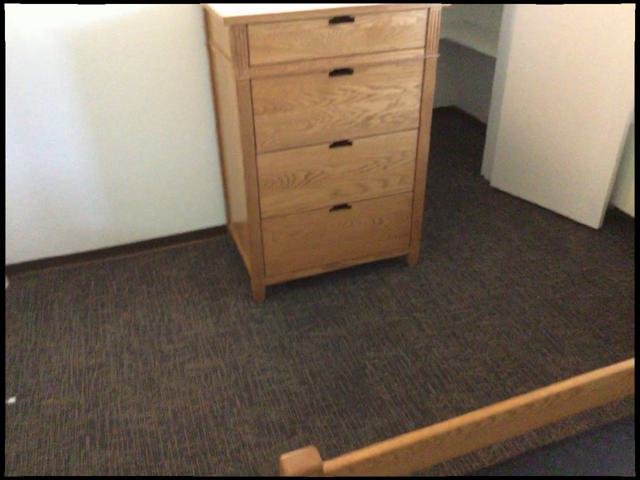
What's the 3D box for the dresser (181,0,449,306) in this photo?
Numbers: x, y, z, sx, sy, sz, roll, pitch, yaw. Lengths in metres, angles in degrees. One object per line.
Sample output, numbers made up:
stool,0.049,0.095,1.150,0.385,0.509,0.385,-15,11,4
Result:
dresser,-0.050,-0.431,2.310,0.789,1.082,0.630,-11,35,-15
